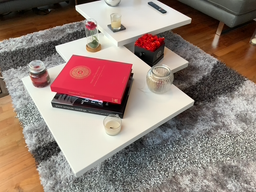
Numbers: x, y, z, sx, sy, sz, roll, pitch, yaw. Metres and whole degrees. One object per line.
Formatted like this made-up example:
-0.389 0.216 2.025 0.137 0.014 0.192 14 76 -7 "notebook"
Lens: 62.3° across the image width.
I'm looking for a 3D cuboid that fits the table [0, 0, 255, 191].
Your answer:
-0.030 -0.220 1.500 1.280 0.280 1.190 -25 51 -25 "table"
